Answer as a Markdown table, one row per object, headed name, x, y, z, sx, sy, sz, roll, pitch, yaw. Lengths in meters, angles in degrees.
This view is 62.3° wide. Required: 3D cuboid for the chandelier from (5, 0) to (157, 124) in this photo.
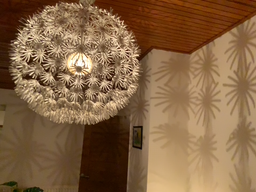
| name | x | y | z | sx | sy | sz | roll | pitch | yaw |
| --- | --- | --- | --- | --- | --- | --- | --- | --- | --- |
| chandelier | -0.360 | -0.330 | 1.700 | 0.820 | 1.050 | 0.910 | 7 | 170 | -20 |
